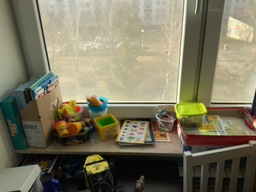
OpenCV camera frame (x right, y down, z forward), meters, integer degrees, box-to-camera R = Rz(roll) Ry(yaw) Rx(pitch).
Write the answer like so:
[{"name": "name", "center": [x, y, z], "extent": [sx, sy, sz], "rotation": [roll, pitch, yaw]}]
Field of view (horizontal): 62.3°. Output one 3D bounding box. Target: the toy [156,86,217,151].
[{"name": "toy", "center": [0.300, 0.120, 1.180], "extent": [0.280, 0.290, 0.200], "rotation": [1, 25, 6]}]
